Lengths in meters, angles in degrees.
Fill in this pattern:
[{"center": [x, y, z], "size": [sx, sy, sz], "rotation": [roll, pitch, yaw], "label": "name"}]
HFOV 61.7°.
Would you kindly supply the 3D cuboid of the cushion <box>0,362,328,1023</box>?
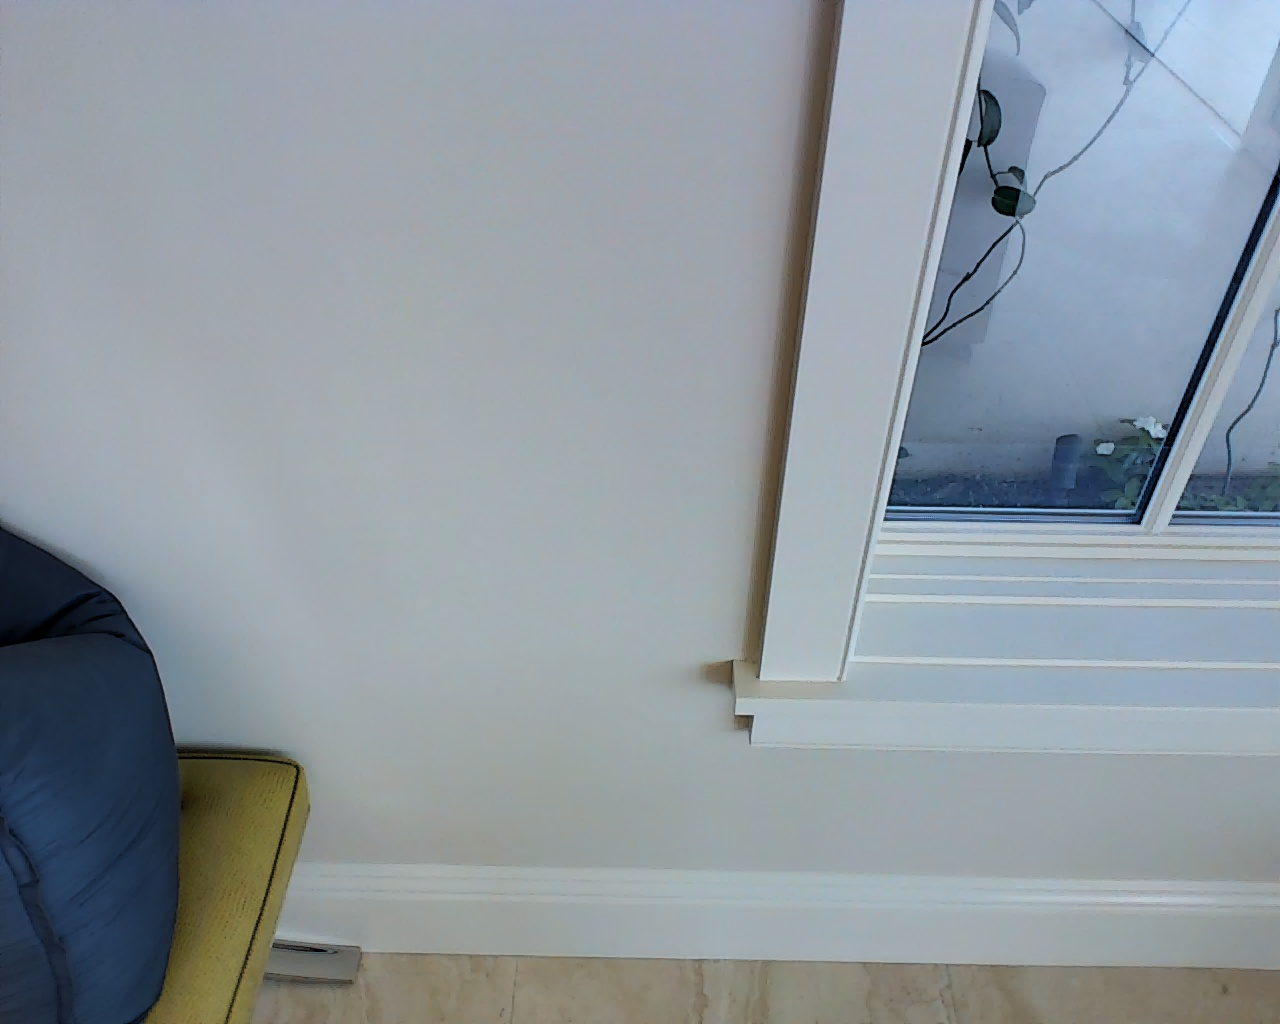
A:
[{"center": [-0.580, 0.230, 0.940], "size": [0.360, 0.480, 0.460], "rotation": [-25, 47, -27], "label": "cushion"}]
